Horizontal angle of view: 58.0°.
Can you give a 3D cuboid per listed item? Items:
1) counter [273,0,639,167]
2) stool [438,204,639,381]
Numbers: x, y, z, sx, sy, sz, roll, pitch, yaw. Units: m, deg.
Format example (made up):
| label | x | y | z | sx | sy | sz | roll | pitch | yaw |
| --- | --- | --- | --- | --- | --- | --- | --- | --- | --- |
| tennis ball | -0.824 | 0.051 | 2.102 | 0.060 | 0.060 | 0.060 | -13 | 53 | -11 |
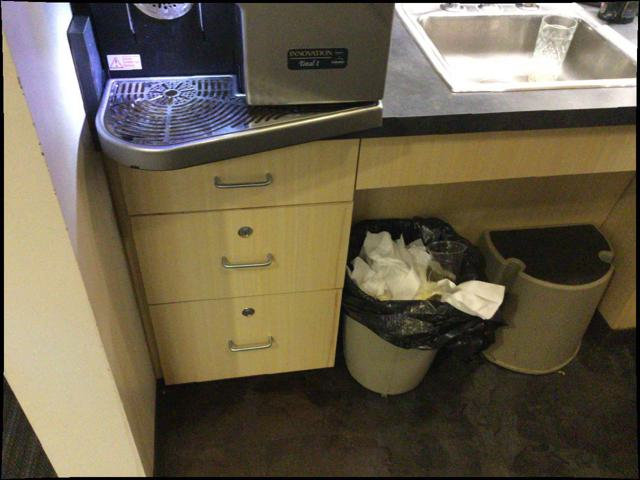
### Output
| label | x | y | z | sx | sy | sz | roll | pitch | yaw |
| --- | --- | --- | --- | --- | --- | --- | --- | --- | --- |
| counter | 0.419 | -0.451 | 1.300 | 0.948 | 0.100 | 0.691 | -7 | 44 | -11 |
| stool | 0.599 | 0.140 | 1.600 | 0.399 | 0.320 | 0.300 | -7 | 44 | -11 |
